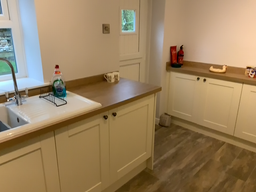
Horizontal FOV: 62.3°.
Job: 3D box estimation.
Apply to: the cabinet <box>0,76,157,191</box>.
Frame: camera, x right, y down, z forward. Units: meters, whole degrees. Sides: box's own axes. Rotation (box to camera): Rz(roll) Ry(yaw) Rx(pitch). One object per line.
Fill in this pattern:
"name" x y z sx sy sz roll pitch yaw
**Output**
"cabinet" -0.730 0.550 1.560 0.600 0.940 2.260 17 25 41
